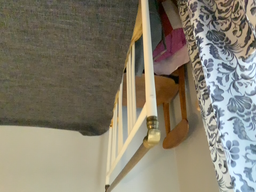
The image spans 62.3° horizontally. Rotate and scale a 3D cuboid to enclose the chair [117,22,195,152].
[{"bbox_3d":[0.130,-0.060,1.430,0.370,0.770,0.380,3,150,-8],"label":"chair"}]
